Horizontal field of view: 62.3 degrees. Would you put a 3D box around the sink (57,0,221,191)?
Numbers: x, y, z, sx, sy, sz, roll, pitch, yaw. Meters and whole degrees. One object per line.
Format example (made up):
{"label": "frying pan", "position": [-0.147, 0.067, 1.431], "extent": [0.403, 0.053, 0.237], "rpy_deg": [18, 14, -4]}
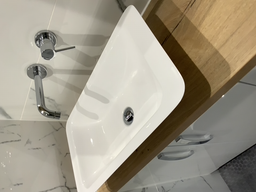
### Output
{"label": "sink", "position": [-0.060, 0.050, 0.700], "extent": [0.600, 0.120, 0.390], "rpy_deg": [-55, 45, 35]}
